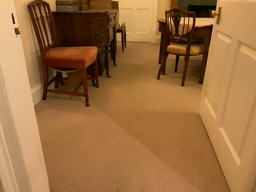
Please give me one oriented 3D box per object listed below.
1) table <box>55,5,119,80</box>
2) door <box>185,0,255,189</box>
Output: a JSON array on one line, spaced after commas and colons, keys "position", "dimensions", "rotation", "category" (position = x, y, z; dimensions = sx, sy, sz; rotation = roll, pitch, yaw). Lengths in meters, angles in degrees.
[{"position": [-0.480, -0.850, 3.070], "dimensions": [0.560, 0.820, 1.270], "rotation": [3, 25, 4], "category": "table"}, {"position": [0.580, -0.560, 1.250], "dimensions": [0.090, 2.020, 0.930], "rotation": [3, 25, 5], "category": "door"}]
